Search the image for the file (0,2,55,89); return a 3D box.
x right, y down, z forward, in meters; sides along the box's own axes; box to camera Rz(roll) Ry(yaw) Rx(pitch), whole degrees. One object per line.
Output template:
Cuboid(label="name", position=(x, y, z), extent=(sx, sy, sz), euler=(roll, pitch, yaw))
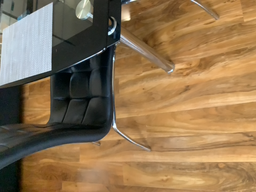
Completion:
Cuboid(label="file", position=(-0.410, -0.180, 0.820), extent=(0.330, 0.030, 0.260), euler=(-9, 77, 30))
